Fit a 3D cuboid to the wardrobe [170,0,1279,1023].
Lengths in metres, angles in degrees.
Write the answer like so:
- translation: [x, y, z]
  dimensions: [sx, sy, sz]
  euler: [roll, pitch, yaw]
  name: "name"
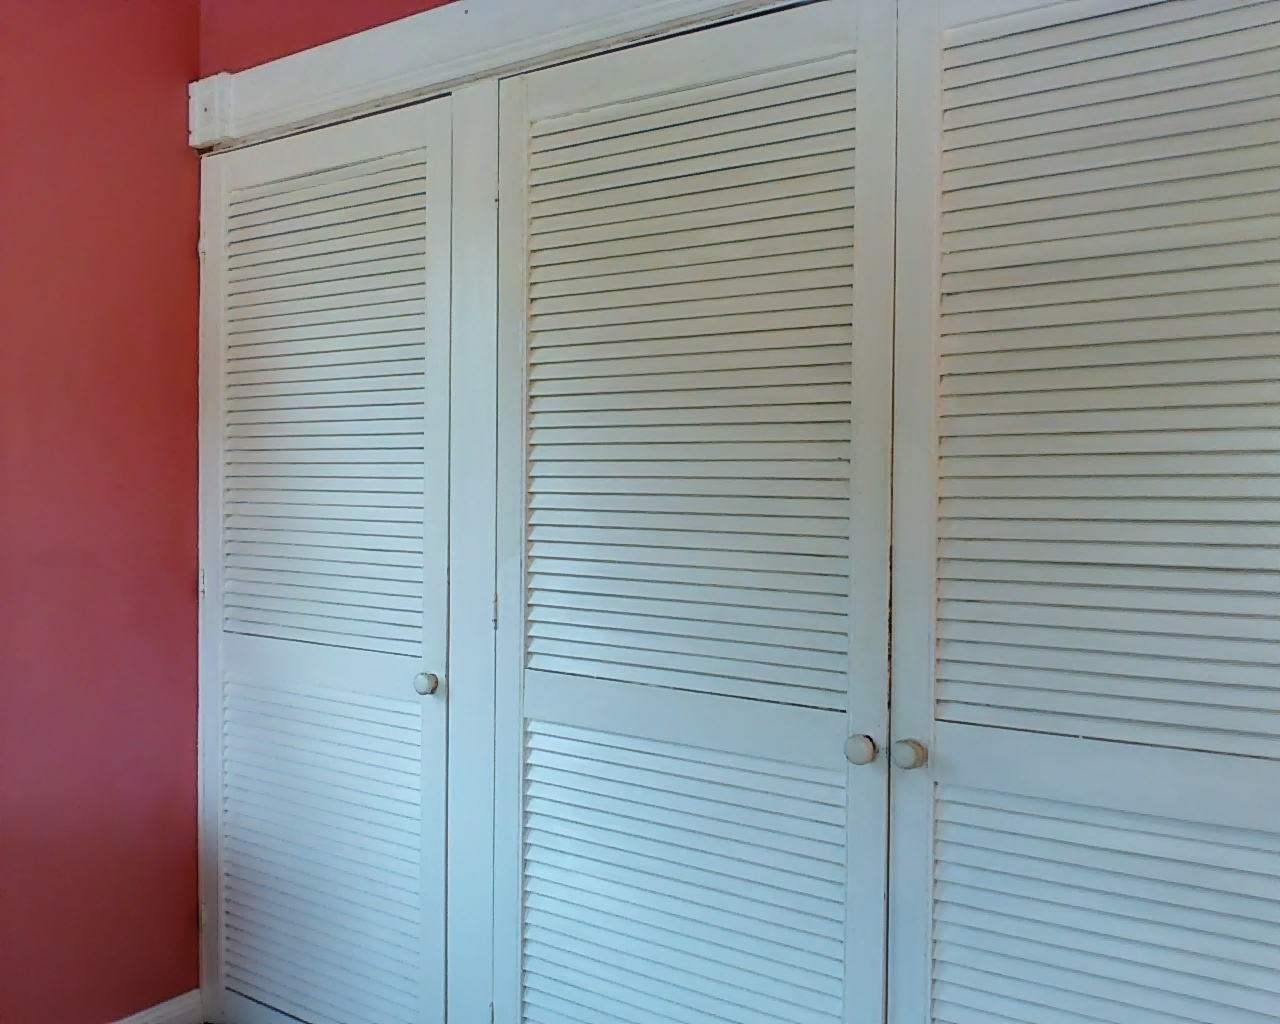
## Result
- translation: [-0.010, 0.110, 1.830]
  dimensions: [2.459, 2.251, 0.100]
  euler: [1, 0, 33]
  name: "wardrobe"
